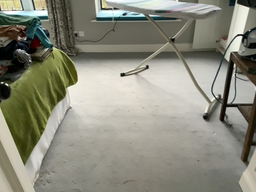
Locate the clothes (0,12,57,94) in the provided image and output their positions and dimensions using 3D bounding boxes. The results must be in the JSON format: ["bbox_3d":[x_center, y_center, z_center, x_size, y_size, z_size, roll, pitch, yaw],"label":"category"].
[{"bbox_3d":[-1.010,-0.360,1.570,0.670,0.340,0.740,1,33,3],"label":"clothes"}]

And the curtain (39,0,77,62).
[{"bbox_3d":[-1.070,-1.590,2.900,0.350,2.330,0.200,2,33,5],"label":"curtain"}]
